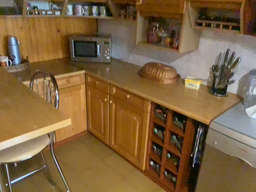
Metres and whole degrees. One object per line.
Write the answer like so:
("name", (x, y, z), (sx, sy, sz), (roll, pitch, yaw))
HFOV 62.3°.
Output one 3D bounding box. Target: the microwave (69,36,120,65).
("microwave", (-0.410, -0.580, 2.640), (0.470, 0.250, 0.400), (-17, 30, -41))
